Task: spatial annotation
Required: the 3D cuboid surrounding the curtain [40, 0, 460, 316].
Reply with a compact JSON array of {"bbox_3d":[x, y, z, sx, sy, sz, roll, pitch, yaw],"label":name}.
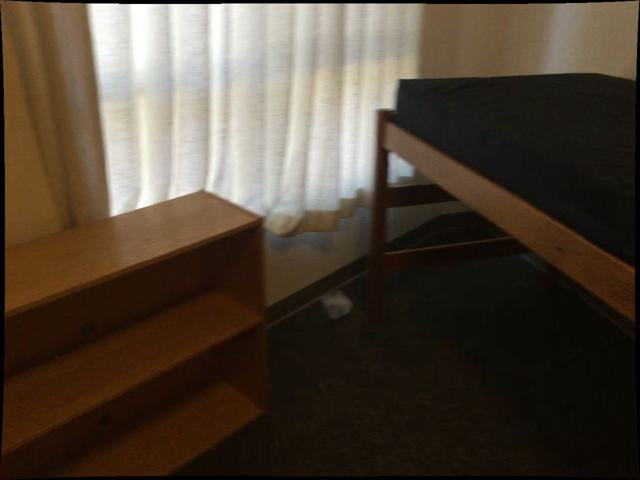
[{"bbox_3d":[-0.070,-0.661,2.040,0.220,1.362,1.689,29,36,33],"label":"curtain"}]
